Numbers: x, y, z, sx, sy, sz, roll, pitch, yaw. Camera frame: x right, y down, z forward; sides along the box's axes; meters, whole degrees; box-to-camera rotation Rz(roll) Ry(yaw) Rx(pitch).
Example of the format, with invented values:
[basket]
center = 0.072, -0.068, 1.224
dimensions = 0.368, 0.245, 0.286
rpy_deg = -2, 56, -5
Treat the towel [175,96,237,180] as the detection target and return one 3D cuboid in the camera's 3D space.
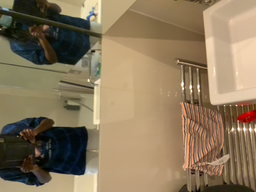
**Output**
[towel]
center = 0.360, 0.190, 0.980
dimensions = 0.100, 0.260, 0.340
rpy_deg = -20, 67, 58
